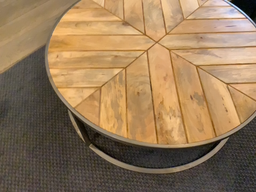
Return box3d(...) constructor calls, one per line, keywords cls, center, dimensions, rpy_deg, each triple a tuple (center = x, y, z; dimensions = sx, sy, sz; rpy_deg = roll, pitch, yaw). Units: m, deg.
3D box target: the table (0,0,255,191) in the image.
box3d(cls="table", center=(0.380, -0.510, 1.240), dimensions=(1.060, 0.350, 1.910), rpy_deg=(35, 64, 20))
